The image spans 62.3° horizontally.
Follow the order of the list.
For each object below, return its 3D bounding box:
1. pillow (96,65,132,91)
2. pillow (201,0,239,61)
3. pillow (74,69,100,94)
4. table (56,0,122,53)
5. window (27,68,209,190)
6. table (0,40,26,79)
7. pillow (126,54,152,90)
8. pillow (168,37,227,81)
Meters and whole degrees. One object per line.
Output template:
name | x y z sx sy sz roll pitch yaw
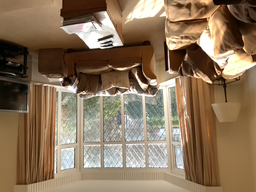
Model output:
pillow | -0.270 -0.350 4.110 0.580 0.370 0.250 12 175 14
pillow | 0.870 -0.610 2.050 0.230 0.420 0.390 -4 172 11
pillow | -0.790 -0.270 4.120 0.370 0.380 0.430 -3 172 10
table | -0.370 -0.870 2.310 0.470 0.520 0.810 -3 172 7
window | -0.200 0.680 4.360 3.110 1.970 1.370 -3 172 8
table | -2.170 -0.620 3.520 0.450 0.490 0.730 -8 170 39
pillow | 0.210 -0.400 3.830 0.350 0.460 0.710 -4 172 11
pillow | 0.900 -0.480 2.830 0.680 0.460 0.290 -3 172 10
